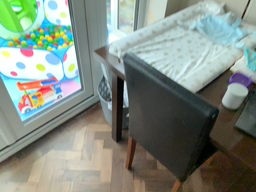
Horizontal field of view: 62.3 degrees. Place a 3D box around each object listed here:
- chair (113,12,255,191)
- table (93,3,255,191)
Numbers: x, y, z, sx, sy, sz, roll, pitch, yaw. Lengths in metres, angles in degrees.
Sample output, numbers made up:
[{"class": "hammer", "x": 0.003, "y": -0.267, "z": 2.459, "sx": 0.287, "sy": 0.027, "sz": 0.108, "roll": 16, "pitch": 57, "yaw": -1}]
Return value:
[{"class": "chair", "x": 0.230, "y": 0.150, "z": 1.080, "sx": 0.470, "sy": 0.910, "sz": 0.390, "roll": -34, "pitch": 57, "yaw": -31}, {"class": "table", "x": 0.560, "y": 0.160, "z": 1.210, "sx": 0.880, "sy": 0.740, "sz": 1.250, "roll": -33, "pitch": 56, "yaw": -30}]
